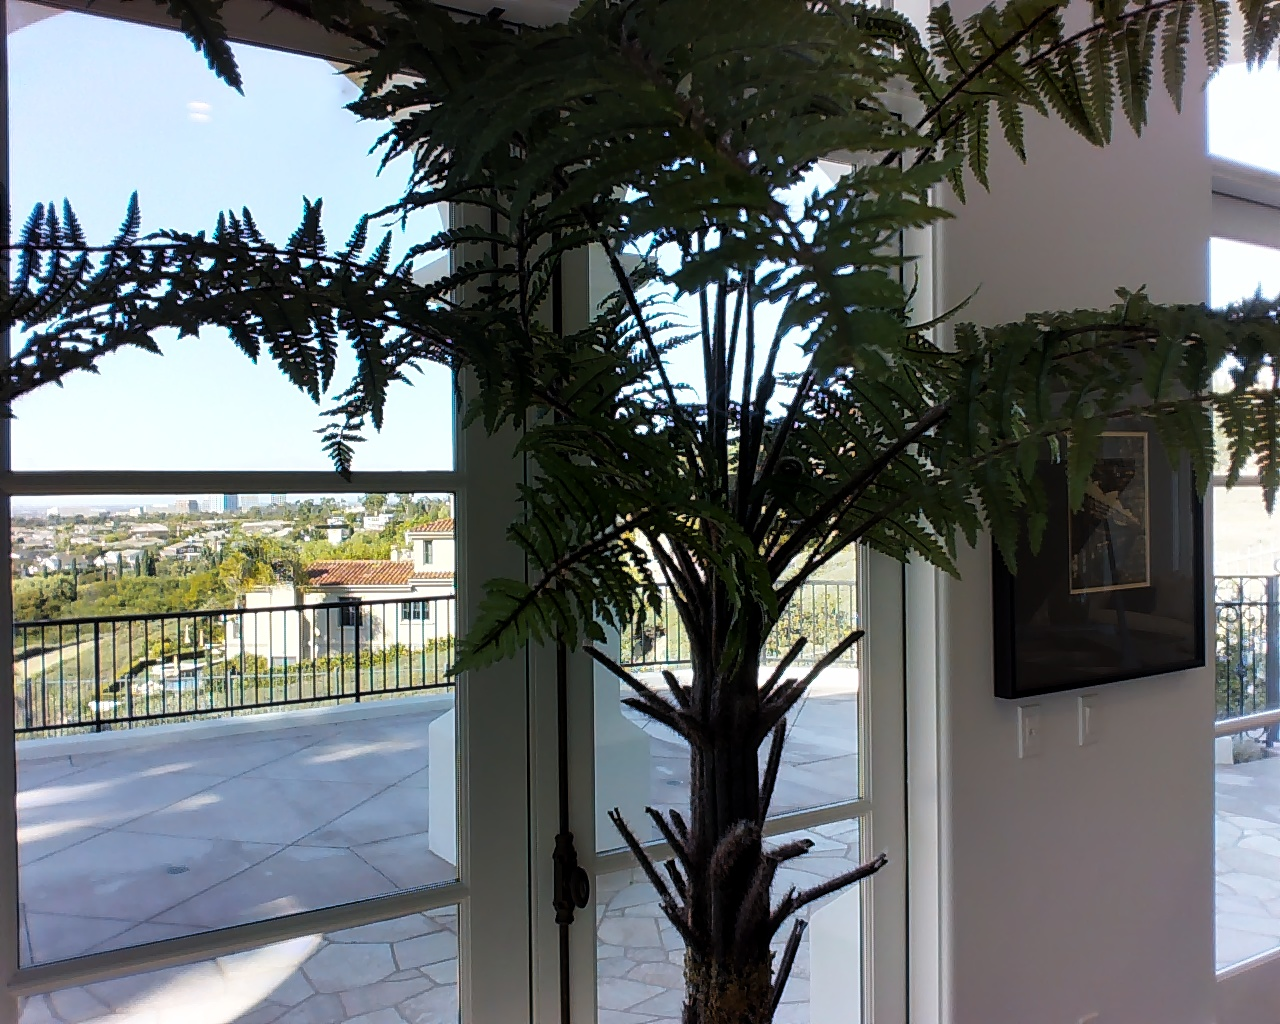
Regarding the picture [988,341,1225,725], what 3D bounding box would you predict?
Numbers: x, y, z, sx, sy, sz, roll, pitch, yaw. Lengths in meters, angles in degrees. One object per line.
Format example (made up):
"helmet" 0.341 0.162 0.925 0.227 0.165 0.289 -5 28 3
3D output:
"picture" 1.110 0.040 2.510 0.760 0.820 0.060 -1 -1 -31
